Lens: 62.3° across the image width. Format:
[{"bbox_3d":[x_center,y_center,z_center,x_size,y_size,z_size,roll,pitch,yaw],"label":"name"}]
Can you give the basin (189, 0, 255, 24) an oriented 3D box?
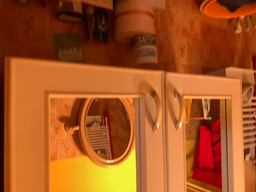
[{"bbox_3d":[0.560,-0.520,1.110,0.330,0.120,0.330,1,179,-30],"label":"basin"}]
